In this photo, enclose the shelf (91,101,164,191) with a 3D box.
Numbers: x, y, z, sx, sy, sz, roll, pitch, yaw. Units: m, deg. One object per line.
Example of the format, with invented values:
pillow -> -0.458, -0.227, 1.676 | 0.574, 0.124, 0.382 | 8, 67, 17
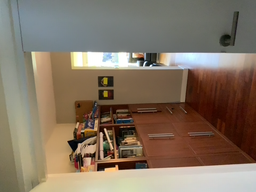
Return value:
shelf -> -0.130, 0.730, 2.880 | 3.010, 0.630, 0.420 | -112, 23, -72
